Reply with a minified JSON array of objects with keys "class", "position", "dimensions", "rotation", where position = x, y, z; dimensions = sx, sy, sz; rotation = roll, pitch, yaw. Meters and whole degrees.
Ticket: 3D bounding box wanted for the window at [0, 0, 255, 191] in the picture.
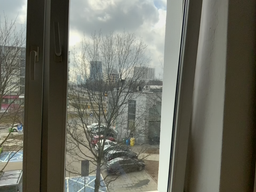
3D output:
[{"class":"window","position":[-0.260,-0.170,0.850],"dimensions":[1.600,1.670,0.250],"rotation":[2,2,-13]}]
